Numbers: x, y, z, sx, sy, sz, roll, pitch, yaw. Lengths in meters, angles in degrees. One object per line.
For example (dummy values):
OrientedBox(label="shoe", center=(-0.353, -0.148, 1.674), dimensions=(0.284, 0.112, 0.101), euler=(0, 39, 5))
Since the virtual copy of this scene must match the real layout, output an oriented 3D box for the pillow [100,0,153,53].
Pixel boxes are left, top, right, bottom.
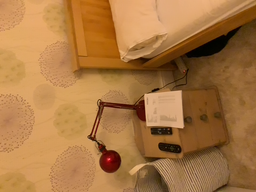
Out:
OrientedBox(label="pillow", center=(-0.040, -0.630, 1.410), dimensions=(0.380, 0.100, 0.570), euler=(-19, 77, 55))
